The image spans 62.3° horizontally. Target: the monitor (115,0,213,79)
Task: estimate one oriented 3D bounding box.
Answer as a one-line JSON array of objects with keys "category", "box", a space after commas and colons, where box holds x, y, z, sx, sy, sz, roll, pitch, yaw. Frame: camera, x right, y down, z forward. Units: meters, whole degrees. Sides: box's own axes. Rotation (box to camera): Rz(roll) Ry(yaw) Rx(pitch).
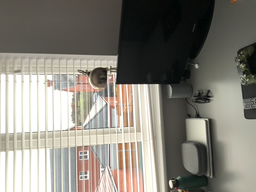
[{"category": "monitor", "box": [0.200, -0.410, 1.190, 0.070, 0.480, 0.680, -112, 25, -54]}]
